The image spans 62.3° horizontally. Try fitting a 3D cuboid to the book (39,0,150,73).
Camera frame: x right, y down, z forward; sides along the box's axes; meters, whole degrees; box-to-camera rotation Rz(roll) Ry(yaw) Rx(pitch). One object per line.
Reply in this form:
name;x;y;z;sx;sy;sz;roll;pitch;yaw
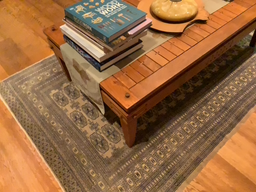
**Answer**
book;-0.150;-0.340;0.970;0.300;0.170;0.390;-36;59;-23
